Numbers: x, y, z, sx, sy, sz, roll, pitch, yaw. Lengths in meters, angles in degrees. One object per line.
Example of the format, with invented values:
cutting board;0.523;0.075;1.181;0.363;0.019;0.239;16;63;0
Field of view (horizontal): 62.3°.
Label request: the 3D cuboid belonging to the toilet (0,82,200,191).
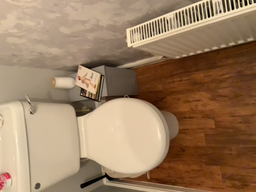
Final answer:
toilet;-0.120;0.210;1.100;0.690;0.790;0.440;-9;87;36
